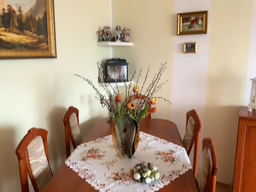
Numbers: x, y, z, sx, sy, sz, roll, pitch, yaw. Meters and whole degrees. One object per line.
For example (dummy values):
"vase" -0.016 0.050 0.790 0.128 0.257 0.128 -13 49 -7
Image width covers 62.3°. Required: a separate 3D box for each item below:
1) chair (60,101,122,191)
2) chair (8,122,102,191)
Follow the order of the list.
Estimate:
"chair" -0.330 0.600 2.100 0.480 1.020 0.360 2 11 11
"chair" -0.460 0.730 1.500 0.460 1.000 0.360 2 11 11
